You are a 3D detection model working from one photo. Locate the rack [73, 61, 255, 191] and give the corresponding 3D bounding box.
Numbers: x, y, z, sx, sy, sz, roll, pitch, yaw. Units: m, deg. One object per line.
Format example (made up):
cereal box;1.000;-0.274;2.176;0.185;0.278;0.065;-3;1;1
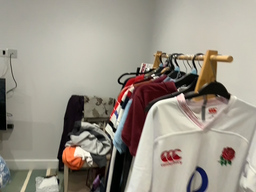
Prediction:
rack;0.070;0.630;1.190;0.710;1.540;0.790;3;12;-11
